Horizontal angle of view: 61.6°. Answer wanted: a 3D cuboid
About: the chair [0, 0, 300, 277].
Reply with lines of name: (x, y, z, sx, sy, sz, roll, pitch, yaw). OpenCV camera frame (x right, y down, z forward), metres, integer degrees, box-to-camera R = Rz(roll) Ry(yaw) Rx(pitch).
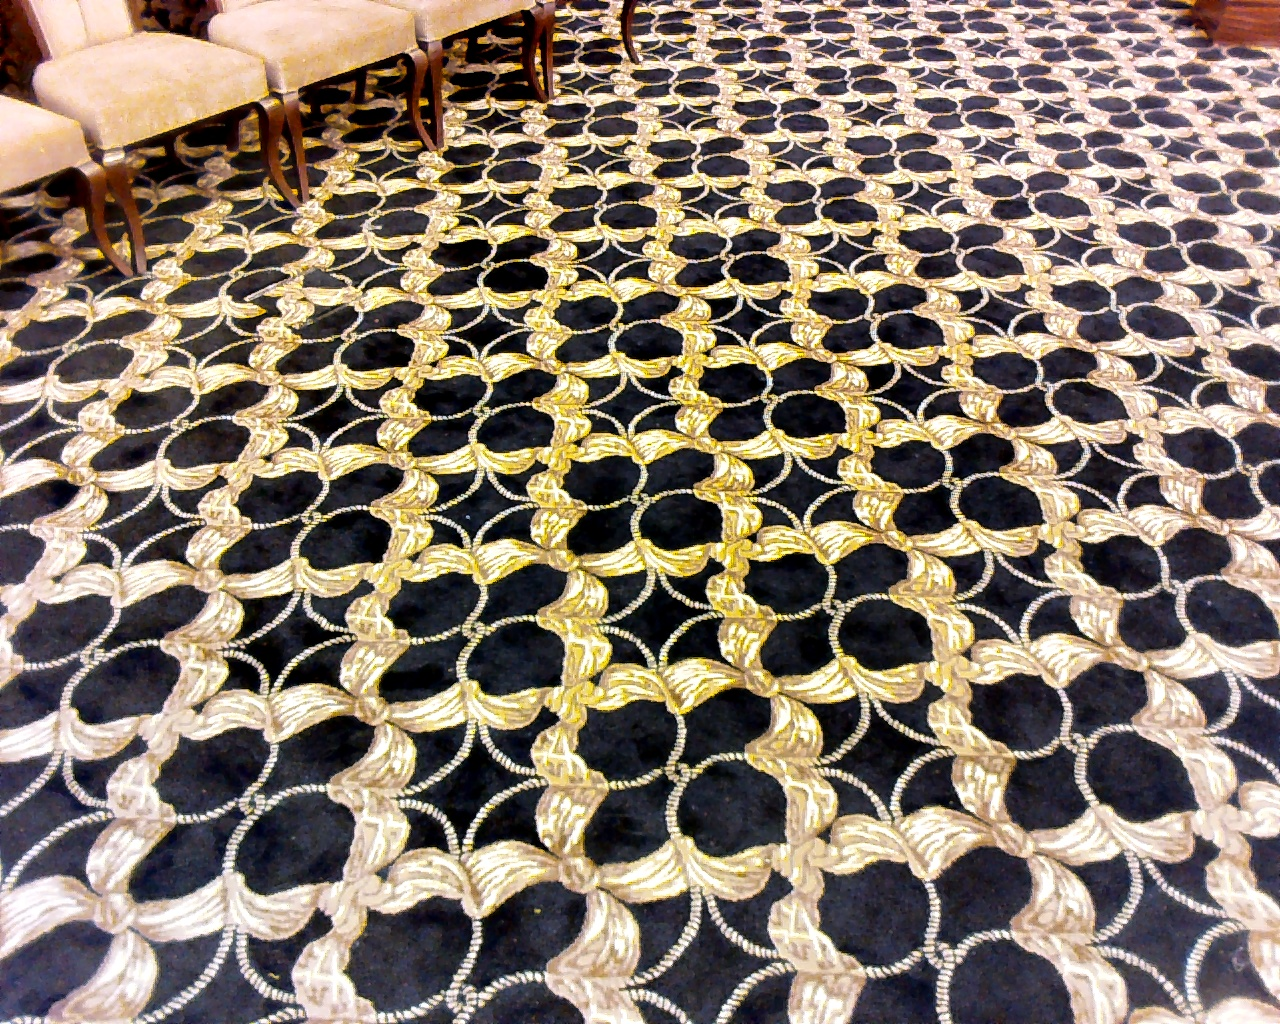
chair: (-1.550, -1.400, 3.060, 0.750, 1.110, 0.590, 29, 49, 28)

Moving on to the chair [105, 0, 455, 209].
chair: (-1.170, -1.700, 3.380, 0.820, 1.080, 0.690, 29, 49, 28)
